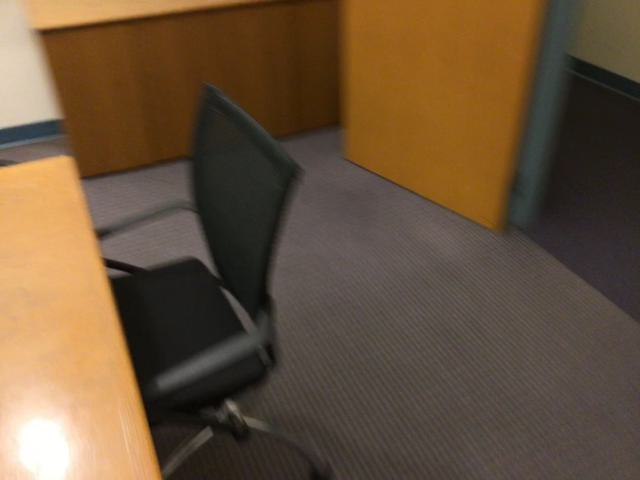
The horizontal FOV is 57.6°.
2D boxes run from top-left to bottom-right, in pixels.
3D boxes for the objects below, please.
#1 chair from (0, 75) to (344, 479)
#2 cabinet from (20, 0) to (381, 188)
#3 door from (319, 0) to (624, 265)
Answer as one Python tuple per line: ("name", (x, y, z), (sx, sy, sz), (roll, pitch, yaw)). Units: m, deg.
("chair", (-0.330, 0.090, 1.260), (0.510, 0.680, 0.590), (-12, 36, -22))
("cabinet", (-0.560, -0.920, 2.960), (1.610, 0.910, 0.560), (-12, 36, -22))
("door", (0.510, -0.900, 2.200), (0.610, 1.640, 0.970), (-12, 36, -22))
